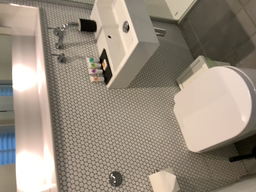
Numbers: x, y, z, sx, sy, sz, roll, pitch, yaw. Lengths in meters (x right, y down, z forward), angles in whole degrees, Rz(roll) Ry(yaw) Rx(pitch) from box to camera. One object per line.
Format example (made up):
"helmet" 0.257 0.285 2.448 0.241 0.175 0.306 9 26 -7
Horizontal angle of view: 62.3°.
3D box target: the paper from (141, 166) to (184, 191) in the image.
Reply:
"paper" 0.160 0.420 1.010 0.150 0.110 0.110 -54 46 49

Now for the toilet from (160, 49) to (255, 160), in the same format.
"toilet" 0.580 0.070 1.230 0.540 0.460 0.390 -47 54 50

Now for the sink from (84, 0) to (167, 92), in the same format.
"sink" -0.070 -0.440 1.280 0.430 0.160 0.710 -50 50 51
